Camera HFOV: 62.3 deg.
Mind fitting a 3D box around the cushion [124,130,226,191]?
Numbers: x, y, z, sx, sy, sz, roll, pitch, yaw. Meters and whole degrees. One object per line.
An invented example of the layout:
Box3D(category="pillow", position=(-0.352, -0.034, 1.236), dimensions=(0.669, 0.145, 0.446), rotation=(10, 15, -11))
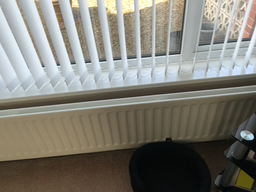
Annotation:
Box3D(category="cushion", position=(0.240, 0.470, 1.230), dimensions=(0.490, 0.190, 0.490), rotation=(-5, 42, 0))
